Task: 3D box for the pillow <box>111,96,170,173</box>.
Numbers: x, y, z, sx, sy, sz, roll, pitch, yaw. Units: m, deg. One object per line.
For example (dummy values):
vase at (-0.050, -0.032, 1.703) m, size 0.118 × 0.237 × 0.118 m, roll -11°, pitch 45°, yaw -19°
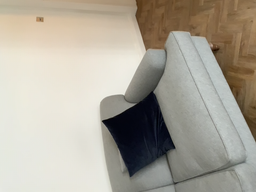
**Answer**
pillow at (0.090, 0.300, 1.620) m, size 0.130 × 0.470 × 0.450 m, roll -33°, pitch 44°, yaw 31°
